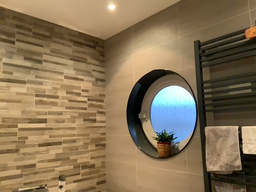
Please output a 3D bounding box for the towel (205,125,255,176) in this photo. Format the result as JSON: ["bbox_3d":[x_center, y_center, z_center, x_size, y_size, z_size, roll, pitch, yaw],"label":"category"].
[{"bbox_3d":[0.740,0.360,1.450,0.070,0.310,0.390,6,-11,-44],"label":"towel"}]
